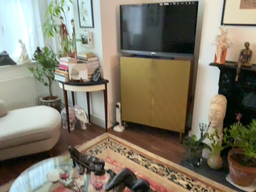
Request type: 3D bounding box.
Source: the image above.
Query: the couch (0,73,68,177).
[{"bbox_3d":[-1.490,0.320,2.230,1.480,0.820,0.710,-10,22,-24],"label":"couch"}]

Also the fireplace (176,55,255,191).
[{"bbox_3d":[1.260,0.250,2.040,1.190,1.050,0.900,17,26,39],"label":"fireplace"}]

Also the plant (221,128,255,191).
[{"bbox_3d":[1.080,0.600,1.980,0.240,0.450,0.320,17,27,40],"label":"plant"}]

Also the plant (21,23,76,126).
[{"bbox_3d":[-1.140,-0.330,3.130,0.470,1.400,0.410,15,25,37],"label":"plant"}]
